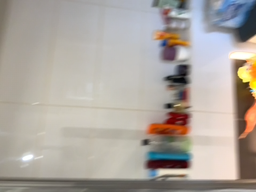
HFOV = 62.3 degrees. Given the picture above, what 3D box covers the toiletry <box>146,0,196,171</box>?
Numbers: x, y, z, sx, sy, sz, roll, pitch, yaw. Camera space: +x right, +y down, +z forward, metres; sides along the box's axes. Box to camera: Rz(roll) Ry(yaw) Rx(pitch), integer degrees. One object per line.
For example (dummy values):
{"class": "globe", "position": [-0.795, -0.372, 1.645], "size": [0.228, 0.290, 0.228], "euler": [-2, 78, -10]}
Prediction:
{"class": "toiletry", "position": [0.240, -0.260, 1.260], "size": [0.140, 0.220, 1.320], "euler": [133, 139, -73]}
